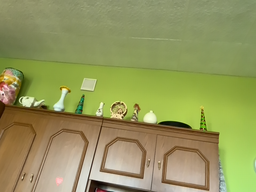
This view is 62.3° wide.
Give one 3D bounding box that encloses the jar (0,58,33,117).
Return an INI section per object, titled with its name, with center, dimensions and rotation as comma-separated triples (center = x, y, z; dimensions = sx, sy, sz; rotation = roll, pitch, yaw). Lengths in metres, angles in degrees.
[jar]
center = -1.320, -0.090, 2.240
dimensions = 0.310, 0.520, 0.310
rotation = 5, -28, 10
